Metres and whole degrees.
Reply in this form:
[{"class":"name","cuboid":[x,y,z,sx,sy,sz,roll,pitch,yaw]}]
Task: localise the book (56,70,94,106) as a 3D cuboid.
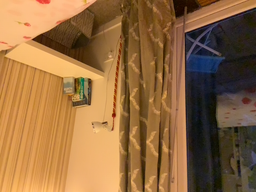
[{"class":"book","cuboid":[-0.550,-0.070,2.200,0.250,0.280,0.250,-10,159,40]}]
